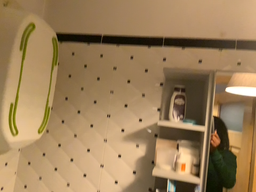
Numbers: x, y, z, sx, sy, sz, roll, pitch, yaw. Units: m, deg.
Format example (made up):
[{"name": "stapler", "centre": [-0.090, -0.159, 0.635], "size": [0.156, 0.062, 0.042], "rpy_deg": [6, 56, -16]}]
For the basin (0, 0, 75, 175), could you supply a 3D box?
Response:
[{"name": "basin", "centre": [-0.500, -0.050, 0.940], "size": [0.280, 0.650, 0.410], "rpy_deg": [7, -4, 11]}]

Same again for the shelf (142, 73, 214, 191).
[{"name": "shelf", "centre": [0.200, 0.260, 0.900], "size": [0.220, 0.670, 0.200], "rpy_deg": [7, -4, 14]}]
